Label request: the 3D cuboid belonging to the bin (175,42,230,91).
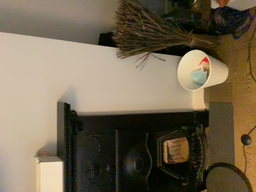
[{"bbox_3d":[0.530,-0.190,1.520,0.250,0.280,0.290,-3,87,58],"label":"bin"}]
